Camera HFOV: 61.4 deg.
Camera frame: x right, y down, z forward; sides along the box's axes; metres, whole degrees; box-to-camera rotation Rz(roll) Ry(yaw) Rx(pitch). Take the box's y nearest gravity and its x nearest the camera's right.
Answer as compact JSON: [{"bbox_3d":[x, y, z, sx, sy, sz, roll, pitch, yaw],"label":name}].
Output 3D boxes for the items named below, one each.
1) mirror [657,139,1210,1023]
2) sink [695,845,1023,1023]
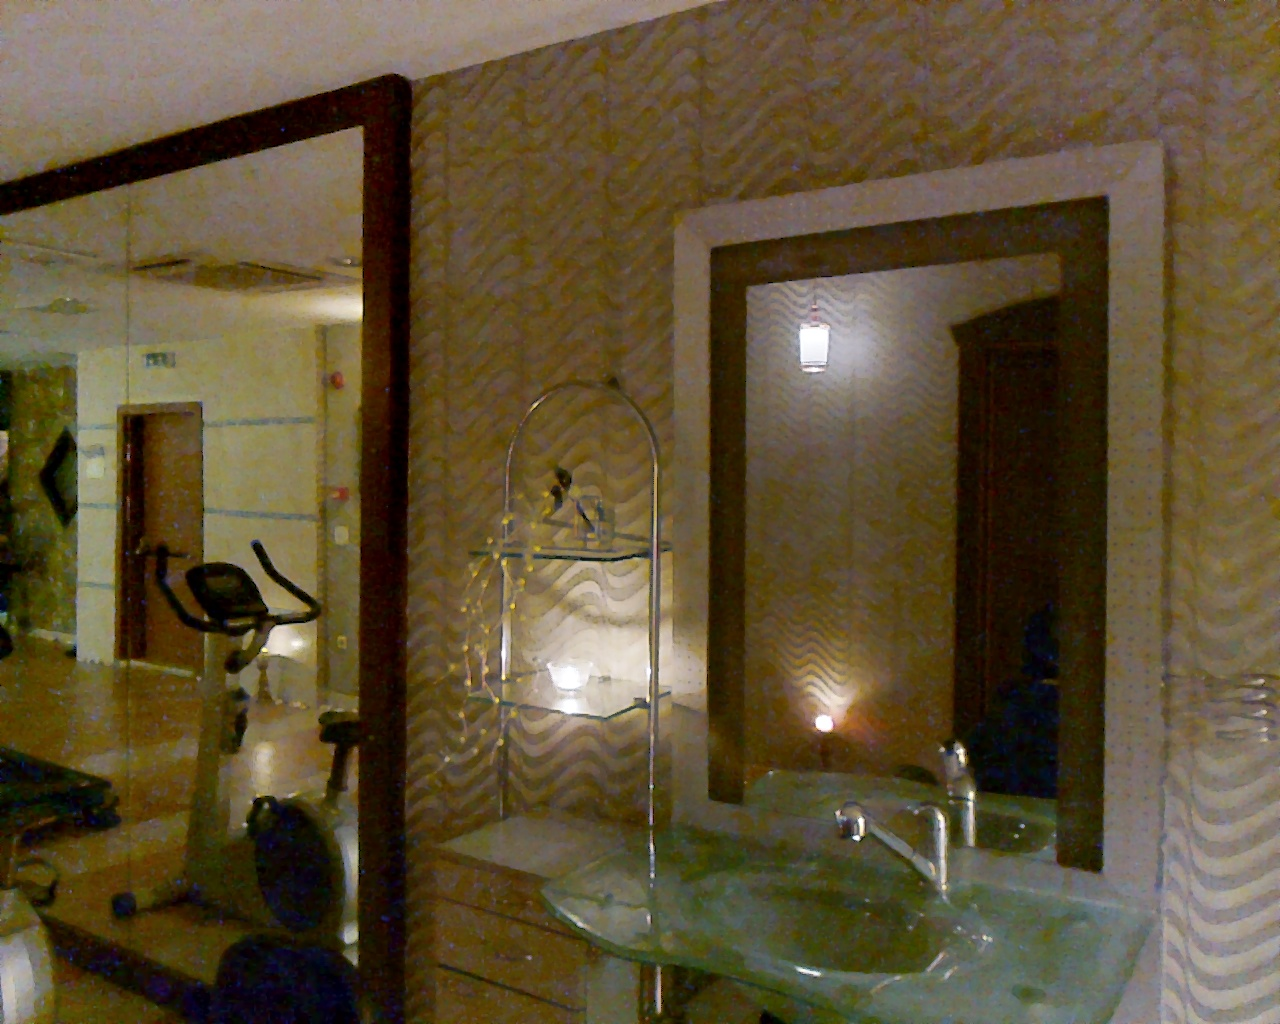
[{"bbox_3d":[0.480,0.100,1.950,0.950,1.330,0.160,1,0,34],"label":"mirror"},{"bbox_3d":[0.370,0.820,1.830,0.470,0.350,0.290,1,0,34],"label":"sink"}]
